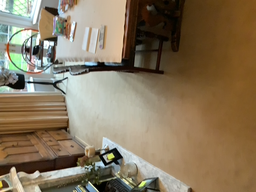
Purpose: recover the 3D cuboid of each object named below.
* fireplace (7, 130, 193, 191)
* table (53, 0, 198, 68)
[{"bbox_3d":[-0.410,0.950,2.160,1.570,1.210,0.680,15,101,52],"label":"fireplace"},{"bbox_3d":[-0.150,-0.870,2.270,1.530,0.760,0.990,14,100,52],"label":"table"}]
